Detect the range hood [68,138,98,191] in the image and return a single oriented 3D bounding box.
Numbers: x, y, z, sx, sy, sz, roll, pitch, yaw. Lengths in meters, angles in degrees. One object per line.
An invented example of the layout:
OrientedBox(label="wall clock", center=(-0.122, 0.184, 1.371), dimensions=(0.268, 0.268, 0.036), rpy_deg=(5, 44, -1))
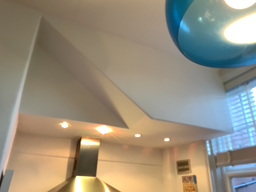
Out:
OrientedBox(label="range hood", center=(-0.470, 0.780, 2.210), dimensions=(0.210, 0.630, 0.190), rpy_deg=(12, -27, -24))
